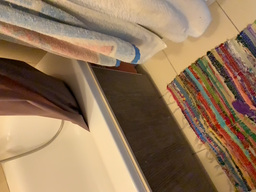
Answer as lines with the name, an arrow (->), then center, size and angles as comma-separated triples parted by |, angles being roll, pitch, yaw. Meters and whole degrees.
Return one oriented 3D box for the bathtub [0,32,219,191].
bathtub -> -0.020, 0.530, 0.950 | 0.670, 0.570, 1.370 | -36, 72, 28
